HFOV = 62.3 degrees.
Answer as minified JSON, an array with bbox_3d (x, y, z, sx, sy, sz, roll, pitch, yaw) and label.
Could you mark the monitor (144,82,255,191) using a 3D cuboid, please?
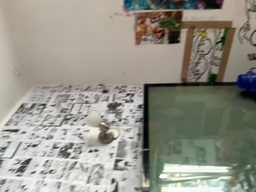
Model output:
[{"bbox_3d":[0.380,0.230,0.850,0.950,0.620,0.060,-85,-4,-54],"label":"monitor"}]
